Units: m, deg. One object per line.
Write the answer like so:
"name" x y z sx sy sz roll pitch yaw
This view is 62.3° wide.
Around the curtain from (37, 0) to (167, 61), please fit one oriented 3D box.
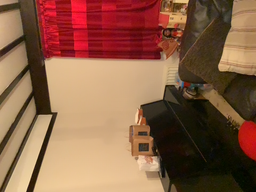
"curtain" -0.290 -1.590 2.580 0.140 1.640 2.350 -108 19 -63
